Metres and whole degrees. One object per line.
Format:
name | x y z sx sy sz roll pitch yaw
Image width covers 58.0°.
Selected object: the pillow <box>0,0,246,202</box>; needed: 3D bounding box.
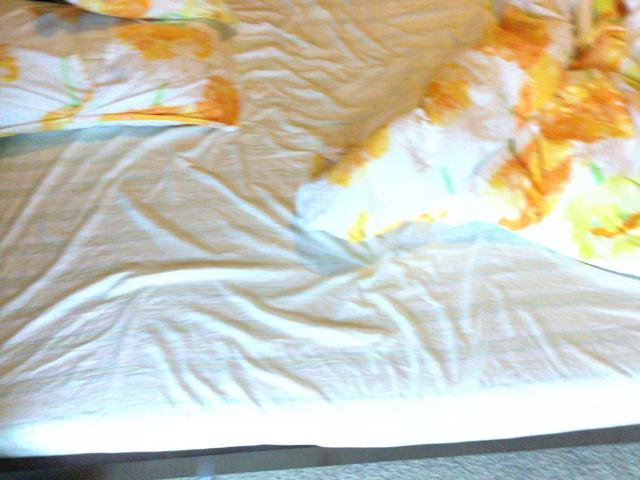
pillow | -0.560 -0.400 1.440 0.670 0.300 0.480 -4 58 5
